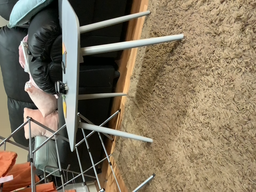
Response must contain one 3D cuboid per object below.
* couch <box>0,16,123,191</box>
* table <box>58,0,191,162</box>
[{"bbox_3d":[-0.740,0.140,2.070,0.850,0.900,1.500,-124,38,-47],"label":"couch"},{"bbox_3d":[-0.100,-0.100,1.140,0.440,0.470,0.710,-124,38,-47],"label":"table"}]
